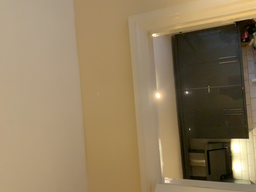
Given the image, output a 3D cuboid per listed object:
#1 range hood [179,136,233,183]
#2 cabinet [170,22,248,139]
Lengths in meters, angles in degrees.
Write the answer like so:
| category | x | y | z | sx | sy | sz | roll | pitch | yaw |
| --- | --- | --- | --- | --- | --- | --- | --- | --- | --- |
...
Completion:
| category | x | y | z | sx | sy | sz | roll | pitch | yaw |
| --- | --- | --- | --- | --- | --- | --- | --- | --- | --- |
| range hood | 1.320 | 1.050 | 3.620 | 0.300 | 0.780 | 0.680 | -3 | -91 | -67 |
| cabinet | 1.320 | -0.200 | 3.520 | 0.330 | 1.030 | 1.760 | -4 | -90 | -66 |
